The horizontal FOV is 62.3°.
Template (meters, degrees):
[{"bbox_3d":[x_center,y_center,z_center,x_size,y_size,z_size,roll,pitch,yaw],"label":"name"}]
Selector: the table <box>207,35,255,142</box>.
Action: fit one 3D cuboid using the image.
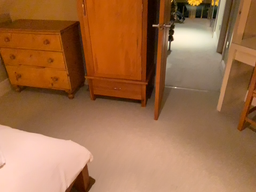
[{"bbox_3d":[1.430,0.040,1.870,0.490,0.800,1.240,-19,36,-27],"label":"table"}]
